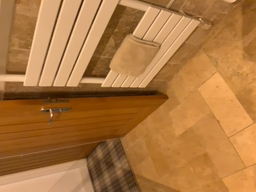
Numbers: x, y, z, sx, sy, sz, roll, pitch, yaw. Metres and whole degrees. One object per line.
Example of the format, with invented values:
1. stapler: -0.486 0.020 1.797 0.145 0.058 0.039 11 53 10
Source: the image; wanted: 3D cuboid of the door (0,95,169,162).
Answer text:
1. door: -0.670 0.280 1.570 0.890 1.980 0.040 -48 54 44
